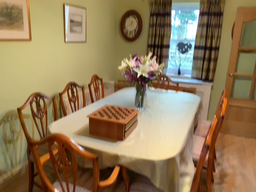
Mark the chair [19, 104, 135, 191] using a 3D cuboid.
[{"bbox_3d":[-0.300,0.610,1.480,0.520,0.940,0.510,7,17,19],"label":"chair"}]

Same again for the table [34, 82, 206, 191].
[{"bbox_3d":[0.140,0.460,2.380,1.110,0.770,1.880,10,17,24],"label":"table"}]

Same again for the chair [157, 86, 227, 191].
[{"bbox_3d":[0.640,0.450,2.150,0.510,0.970,0.450,9,17,22],"label":"chair"}]
